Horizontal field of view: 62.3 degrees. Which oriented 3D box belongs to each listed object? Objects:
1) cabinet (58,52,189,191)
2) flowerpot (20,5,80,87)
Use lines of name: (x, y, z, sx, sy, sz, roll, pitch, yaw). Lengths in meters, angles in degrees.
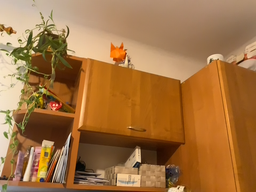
cabinet: (-0.020, 0.180, 1.220, 0.610, 0.670, 0.290, 10, -25, -20)
flowerpot: (-0.440, -0.260, 1.210, 0.240, 0.270, 0.340, 10, -25, -19)
